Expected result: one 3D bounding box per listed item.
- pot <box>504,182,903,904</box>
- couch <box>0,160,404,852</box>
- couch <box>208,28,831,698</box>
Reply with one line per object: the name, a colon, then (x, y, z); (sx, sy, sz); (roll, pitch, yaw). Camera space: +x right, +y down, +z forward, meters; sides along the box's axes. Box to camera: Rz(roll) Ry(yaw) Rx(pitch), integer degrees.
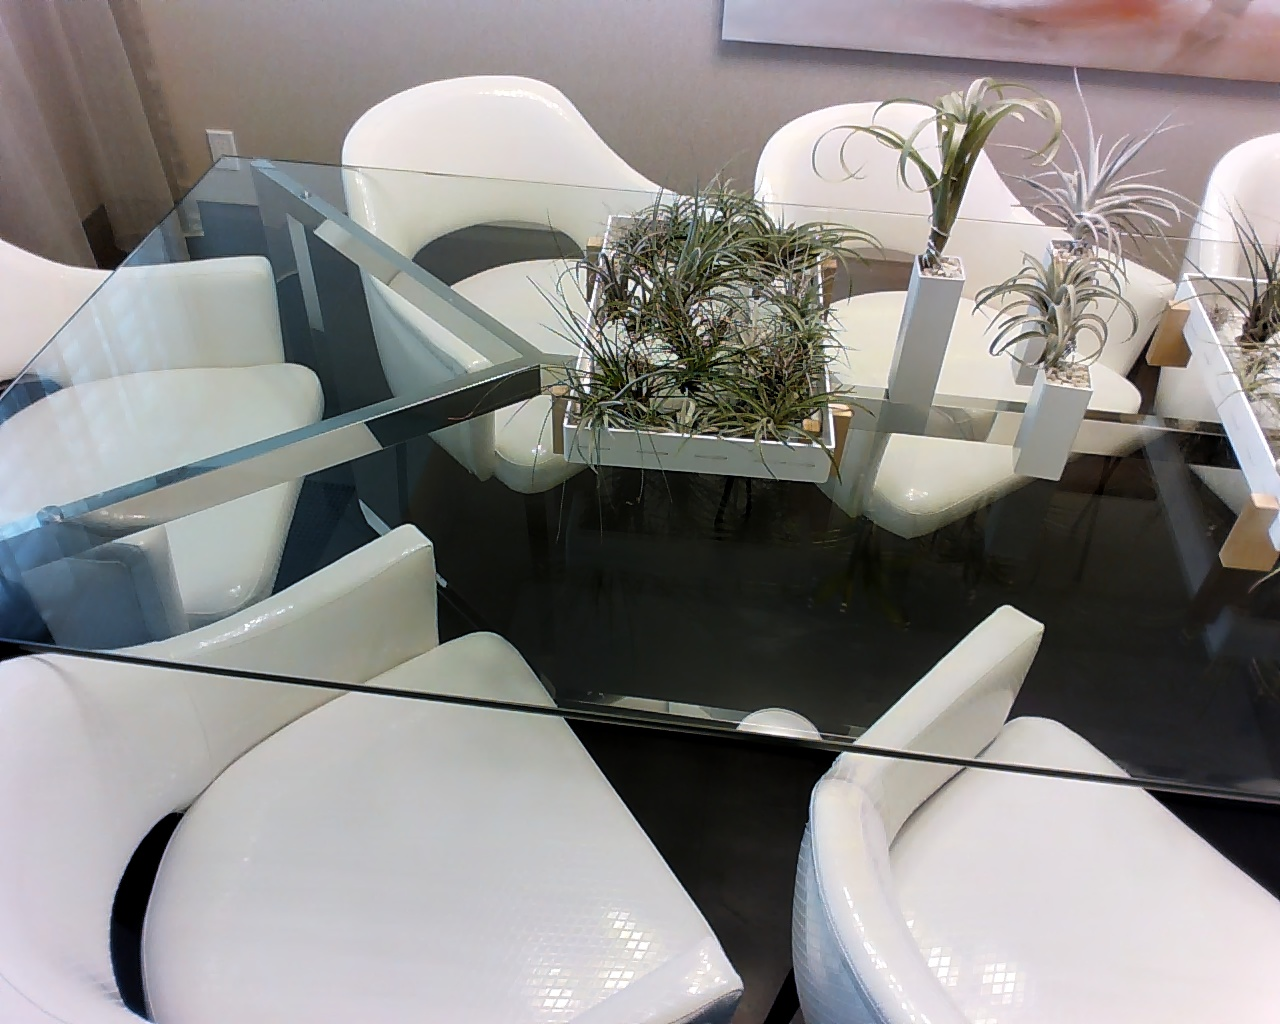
pot: (0.080, 0.090, 1.570); (0.400, 0.950, 0.480); (7, 43, 5)
couch: (-0.850, -0.010, 1.710); (0.720, 0.800, 0.730); (2, 43, 0)
couch: (-0.200, -0.310, 2.040); (0.760, 0.830, 0.670); (-33, 53, -32)
